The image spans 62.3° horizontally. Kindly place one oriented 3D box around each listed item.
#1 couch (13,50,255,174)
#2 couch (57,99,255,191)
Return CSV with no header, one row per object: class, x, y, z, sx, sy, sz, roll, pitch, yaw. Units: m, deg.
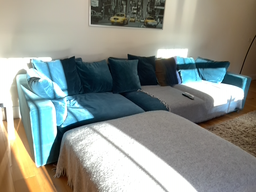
couch,0.380,-0.150,3.330,3.640,0.860,1.400,-9,24,-33
couch,0.260,0.560,1.820,1.340,0.520,1.240,-9,24,-33
